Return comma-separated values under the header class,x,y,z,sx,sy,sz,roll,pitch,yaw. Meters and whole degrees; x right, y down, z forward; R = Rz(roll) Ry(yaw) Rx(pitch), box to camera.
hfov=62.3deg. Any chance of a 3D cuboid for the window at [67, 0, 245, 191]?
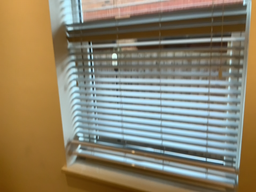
class,x,y,z,sx,sy,sz,roll,pitch,yaw
window,0.080,-0.200,1.290,1.060,1.440,0.040,5,14,27
